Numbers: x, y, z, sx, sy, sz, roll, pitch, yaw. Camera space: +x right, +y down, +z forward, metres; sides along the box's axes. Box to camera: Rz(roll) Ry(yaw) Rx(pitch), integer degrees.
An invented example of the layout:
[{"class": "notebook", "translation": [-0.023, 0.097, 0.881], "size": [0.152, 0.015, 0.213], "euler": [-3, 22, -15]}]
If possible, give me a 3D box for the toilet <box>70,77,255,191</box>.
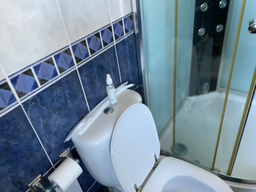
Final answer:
[{"class": "toilet", "translation": [0.210, 0.430, 1.050], "size": [0.690, 0.810, 0.420], "euler": [19, 44, 31]}]
